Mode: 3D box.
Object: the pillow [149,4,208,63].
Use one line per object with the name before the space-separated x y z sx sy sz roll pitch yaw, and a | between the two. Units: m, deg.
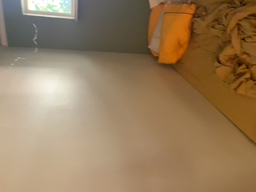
pillow | 0.530 -0.680 2.320 0.550 0.290 0.220 -44 11 23
